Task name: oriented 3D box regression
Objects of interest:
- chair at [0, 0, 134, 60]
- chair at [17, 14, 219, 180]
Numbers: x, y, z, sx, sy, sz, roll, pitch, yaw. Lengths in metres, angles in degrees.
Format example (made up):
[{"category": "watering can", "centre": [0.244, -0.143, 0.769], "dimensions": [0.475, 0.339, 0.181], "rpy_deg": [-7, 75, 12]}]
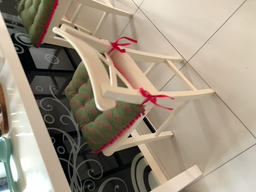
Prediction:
[{"category": "chair", "centre": [-0.490, -0.630, 1.560], "dimensions": [0.490, 0.910, 0.390], "rpy_deg": [-51, 59, 29]}, {"category": "chair", "centre": [0.010, 0.010, 1.140], "dimensions": [0.490, 0.910, 0.400], "rpy_deg": [-51, 59, 29]}]
